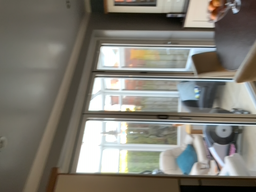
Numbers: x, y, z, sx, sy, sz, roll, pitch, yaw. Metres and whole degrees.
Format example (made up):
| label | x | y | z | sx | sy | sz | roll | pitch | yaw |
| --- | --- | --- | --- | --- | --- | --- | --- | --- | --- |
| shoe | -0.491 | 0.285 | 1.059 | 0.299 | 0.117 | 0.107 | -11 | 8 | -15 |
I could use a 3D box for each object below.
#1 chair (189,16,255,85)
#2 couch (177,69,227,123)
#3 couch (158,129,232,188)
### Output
| label | x | y | z | sx | sy | sz | roll | pitch | yaw |
| --- | --- | --- | --- | --- | --- | --- | --- | --- | --- |
| chair | 1.240 | -0.480 | 2.270 | 0.460 | 0.970 | 0.560 | -88 | -1 | -47 |
| couch | 1.450 | -0.010 | 4.300 | 0.620 | 0.690 | 0.900 | -87 | -2 | -66 |
| couch | 1.220 | 1.230 | 4.180 | 0.800 | 1.090 | 0.830 | 90 | -179 | -48 |
